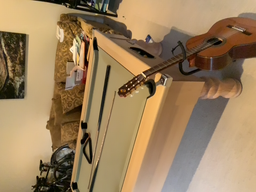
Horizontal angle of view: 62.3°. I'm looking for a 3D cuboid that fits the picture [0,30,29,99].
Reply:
[{"bbox_3d":[-2.040,-0.460,3.340,0.050,0.830,1.140,47,130,49],"label":"picture"}]
